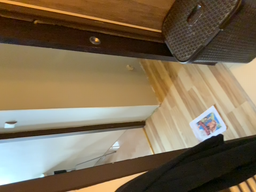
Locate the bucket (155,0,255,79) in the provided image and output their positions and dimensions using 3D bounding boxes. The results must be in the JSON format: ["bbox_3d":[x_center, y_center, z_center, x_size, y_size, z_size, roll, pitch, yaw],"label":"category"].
[{"bbox_3d":[0.570,-0.370,1.200,0.490,0.610,0.270,-54,47,43],"label":"bucket"}]
